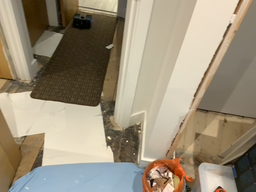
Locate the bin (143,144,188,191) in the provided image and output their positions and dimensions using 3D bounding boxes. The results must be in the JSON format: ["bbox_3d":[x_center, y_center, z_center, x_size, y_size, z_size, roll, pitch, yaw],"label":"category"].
[{"bbox_3d":[0.220,0.520,1.330,0.210,0.240,0.320,9,44,-1],"label":"bin"}]
